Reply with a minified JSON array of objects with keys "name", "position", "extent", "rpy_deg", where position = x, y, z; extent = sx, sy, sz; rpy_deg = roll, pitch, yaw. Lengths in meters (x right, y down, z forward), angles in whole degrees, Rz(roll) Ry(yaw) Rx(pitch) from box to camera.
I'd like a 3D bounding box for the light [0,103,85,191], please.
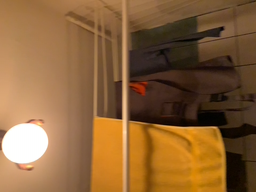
[{"name":"light","position":[-0.430,0.220,1.000],"extent":[0.360,0.230,0.310],"rpy_deg":[11,-83,31]}]
